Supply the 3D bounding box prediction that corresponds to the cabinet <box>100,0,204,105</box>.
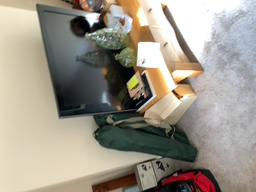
[{"bbox_3d":[0.160,-0.440,1.940,0.600,0.430,0.830,-45,57,47],"label":"cabinet"}]
